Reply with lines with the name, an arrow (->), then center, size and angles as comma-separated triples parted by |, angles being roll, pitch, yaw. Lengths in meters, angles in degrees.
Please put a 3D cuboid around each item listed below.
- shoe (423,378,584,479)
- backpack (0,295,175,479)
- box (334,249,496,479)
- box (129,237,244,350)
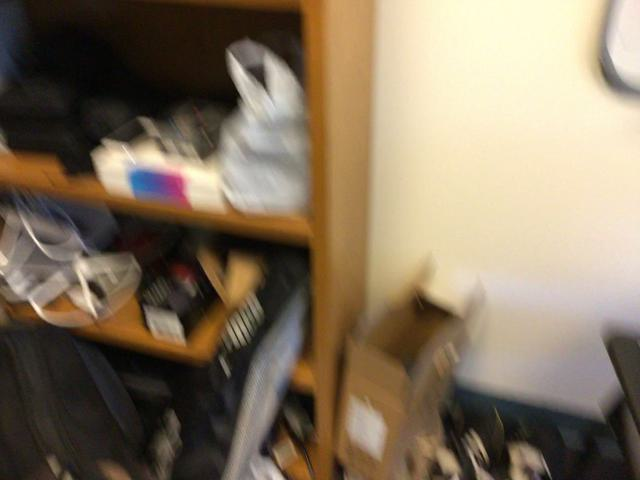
shoe -> 0.410, 0.500, 1.310 | 0.320, 0.120, 0.320 | 8, 32, 15
backpack -> -0.560, 0.360, 1.190 | 0.360, 0.420, 0.210 | 21, -16, -32
box -> 0.200, 0.270, 1.240 | 0.190, 0.360, 0.320 | 20, 37, 31
box -> -0.280, 0.110, 1.250 | 0.150, 0.130, 0.200 | 8, 32, 15
